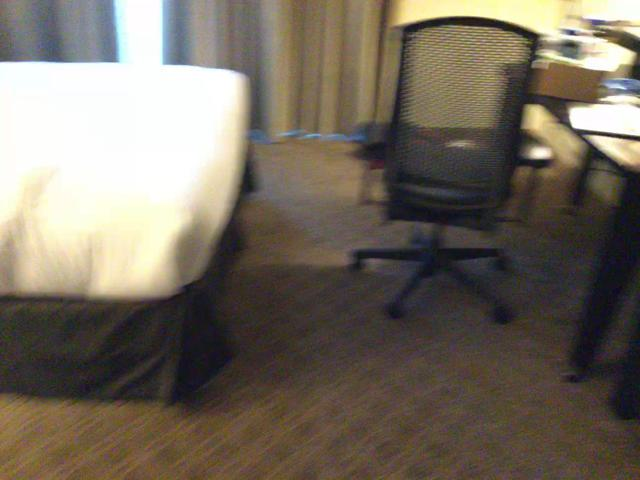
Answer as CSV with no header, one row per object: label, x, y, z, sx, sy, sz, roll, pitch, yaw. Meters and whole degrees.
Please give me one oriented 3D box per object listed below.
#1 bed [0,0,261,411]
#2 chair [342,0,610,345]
bed,-1.310,-0.290,2.160,2.110,1.010,1.550,0,26,-4
chair,0.450,-0.290,2.160,0.670,1.070,0.760,3,26,0
